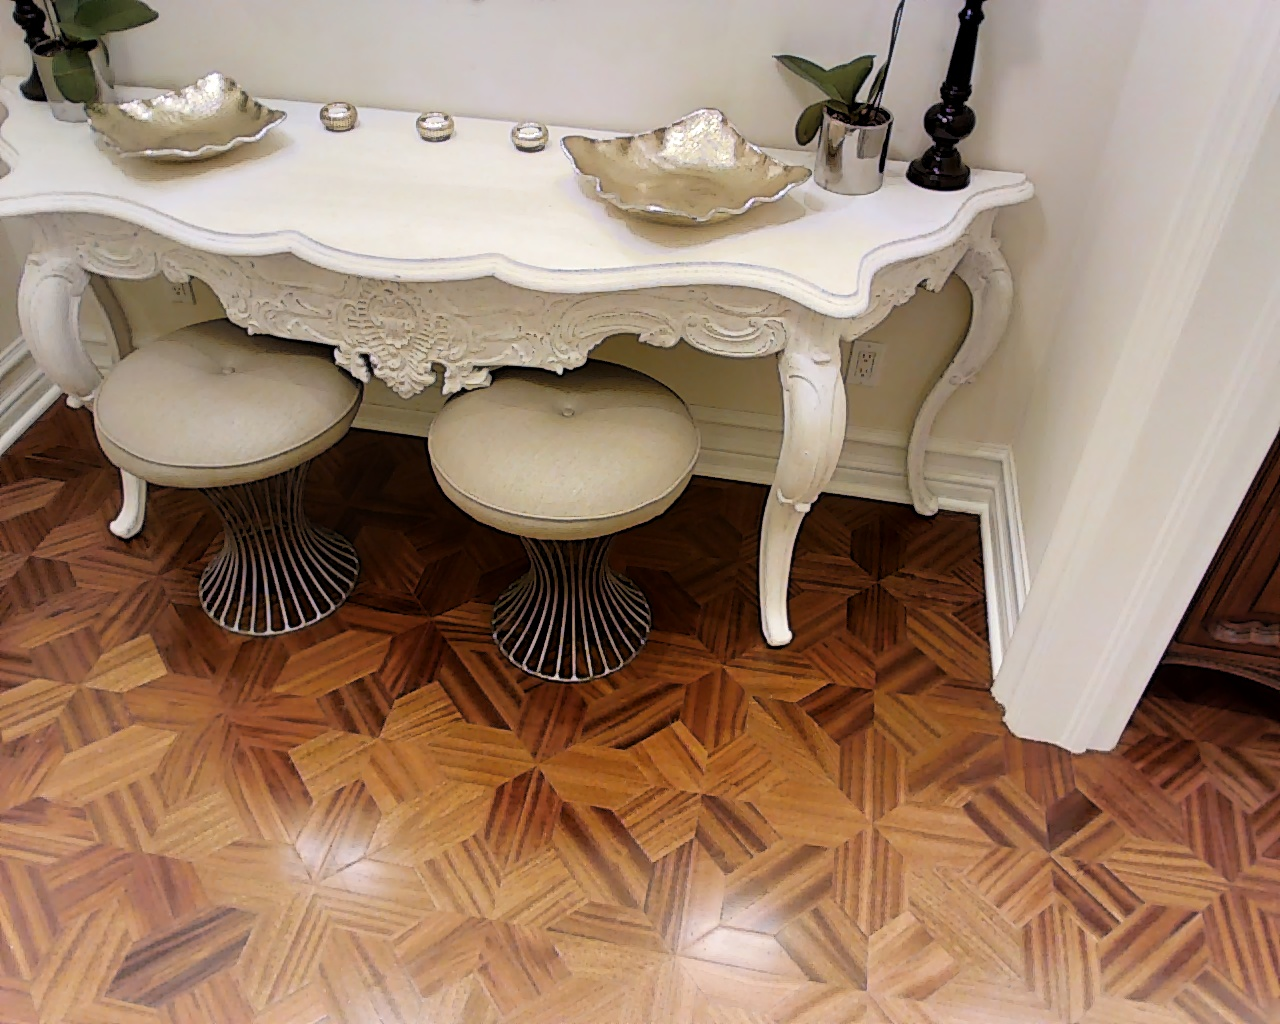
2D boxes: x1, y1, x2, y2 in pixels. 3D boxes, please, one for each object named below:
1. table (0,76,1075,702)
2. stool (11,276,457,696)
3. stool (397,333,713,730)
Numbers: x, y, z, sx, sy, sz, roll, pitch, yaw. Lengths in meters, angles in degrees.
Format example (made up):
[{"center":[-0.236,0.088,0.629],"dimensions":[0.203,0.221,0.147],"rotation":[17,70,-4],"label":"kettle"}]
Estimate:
[{"center":[-0.360,-0.290,2.250],"dimensions":[2.170,0.800,0.650],"rotation":[8,42,8],"label":"table"},{"center":[-0.740,-0.060,2.150],"dimensions":[0.550,0.560,0.530],"rotation":[8,42,8],"label":"stool"},{"center":[-0.130,0.040,2.060],"dimensions":[0.500,0.570,0.470],"rotation":[3,42,1],"label":"stool"}]
